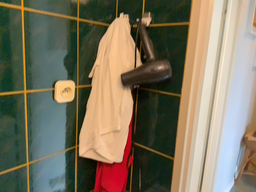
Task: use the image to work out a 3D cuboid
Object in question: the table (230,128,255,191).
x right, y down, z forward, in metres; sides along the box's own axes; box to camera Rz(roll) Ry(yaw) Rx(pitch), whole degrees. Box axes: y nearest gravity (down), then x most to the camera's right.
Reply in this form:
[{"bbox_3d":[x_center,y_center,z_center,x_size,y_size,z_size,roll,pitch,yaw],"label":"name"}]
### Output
[{"bbox_3d":[1.560,0.770,2.450,0.490,0.590,0.500,14,15,38],"label":"table"}]
